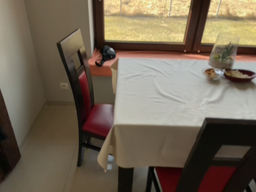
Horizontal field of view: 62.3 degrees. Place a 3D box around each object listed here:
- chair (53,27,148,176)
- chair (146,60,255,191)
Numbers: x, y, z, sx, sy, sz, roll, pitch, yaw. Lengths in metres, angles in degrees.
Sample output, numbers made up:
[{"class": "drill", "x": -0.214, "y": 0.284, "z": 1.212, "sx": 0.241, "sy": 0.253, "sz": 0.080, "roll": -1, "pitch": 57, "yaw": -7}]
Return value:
[{"class": "chair", "x": -0.160, "y": 0.080, "z": 1.570, "sx": 0.510, "sy": 1.030, "sz": 0.380, "roll": 4, "pitch": 33, "yaw": 1}, {"class": "chair", "x": 0.350, "y": 0.400, "z": 1.120, "sx": 0.390, "sy": 1.030, "sz": 0.510, "roll": 2, "pitch": 33, "yaw": -1}]
